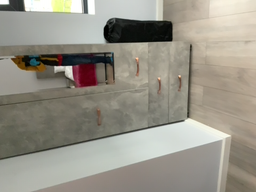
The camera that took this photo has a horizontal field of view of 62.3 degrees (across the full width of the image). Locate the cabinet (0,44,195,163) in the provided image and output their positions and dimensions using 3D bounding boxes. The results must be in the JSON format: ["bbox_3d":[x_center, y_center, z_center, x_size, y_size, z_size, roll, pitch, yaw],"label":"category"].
[{"bbox_3d":[-0.340,-0.060,1.870,0.540,1.850,0.770,27,120,61],"label":"cabinet"}]

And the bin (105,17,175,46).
[{"bbox_3d":[0.130,-0.640,2.160,0.220,0.680,0.250,22,116,62],"label":"bin"}]
